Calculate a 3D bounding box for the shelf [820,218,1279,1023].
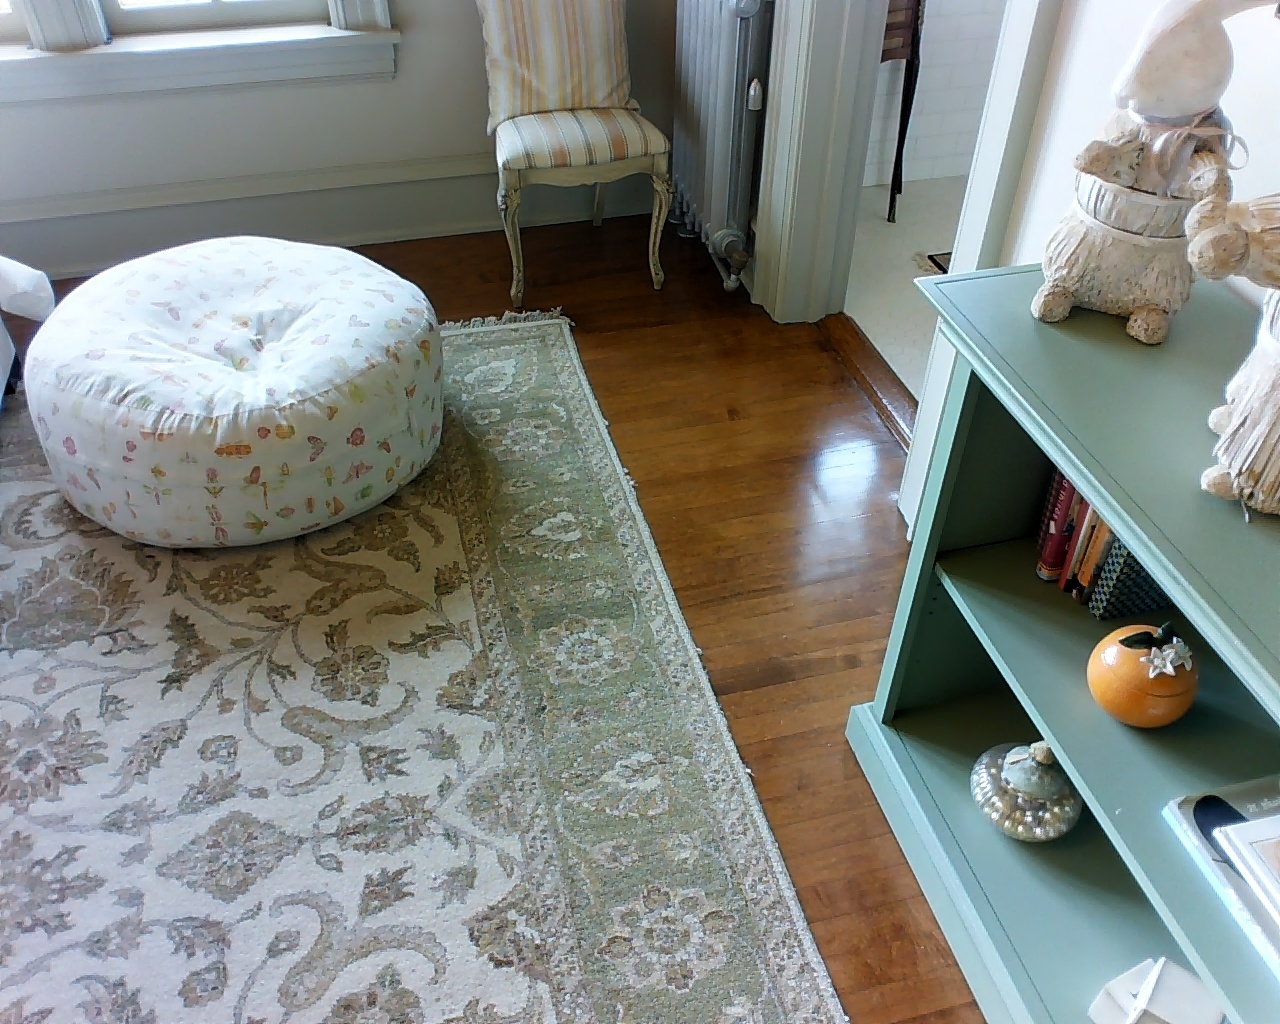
[{"bbox_3d":[0.660,0.300,1.370,0.410,0.930,0.980,-10,43,-11],"label":"shelf"}]
